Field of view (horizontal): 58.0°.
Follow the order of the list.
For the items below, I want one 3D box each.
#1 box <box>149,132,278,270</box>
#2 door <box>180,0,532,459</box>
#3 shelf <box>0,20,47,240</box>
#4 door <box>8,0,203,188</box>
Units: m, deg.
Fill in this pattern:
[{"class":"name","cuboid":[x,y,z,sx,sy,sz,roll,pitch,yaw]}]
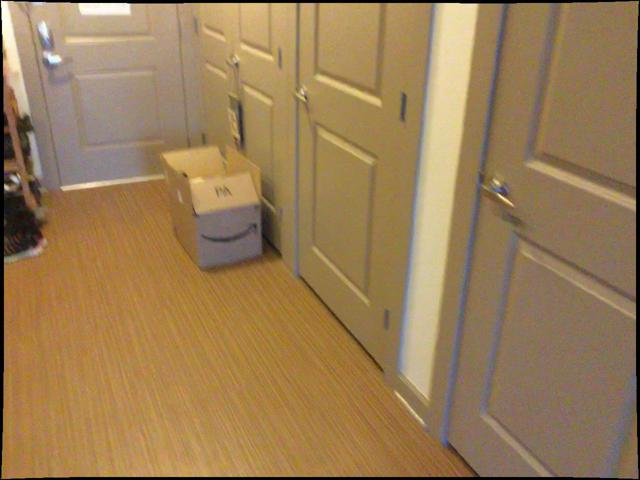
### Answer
[{"class":"box","cuboid":[-0.579,-0.241,3.080,0.479,0.461,0.680,-11,28,-23]},{"class":"door","cuboid":[-0.209,-0.862,2.570,0.140,2.124,2.920,-11,28,-23]},{"class":"shelf","cuboid":[-1.836,-0.621,3.180,0.389,1.032,0.760,-11,28,-23]},{"class":"door","cuboid":[-1.307,-1.363,3.510,1.018,2.024,0.130,-11,28,-23]}]
